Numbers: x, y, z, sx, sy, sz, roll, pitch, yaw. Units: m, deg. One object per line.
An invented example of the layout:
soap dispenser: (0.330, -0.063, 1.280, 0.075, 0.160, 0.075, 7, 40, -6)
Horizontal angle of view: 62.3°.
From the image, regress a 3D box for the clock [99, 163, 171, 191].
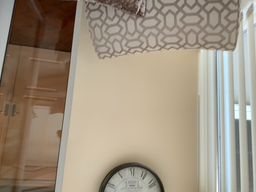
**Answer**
clock: (0.040, 0.620, 1.270, 0.430, 0.400, 0.050, 6, 169, -13)
